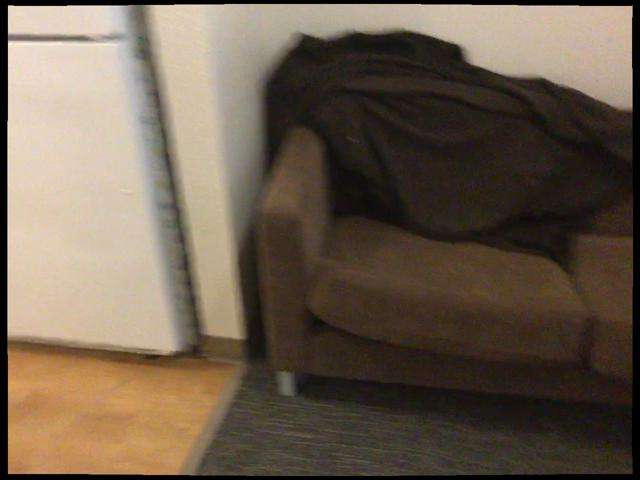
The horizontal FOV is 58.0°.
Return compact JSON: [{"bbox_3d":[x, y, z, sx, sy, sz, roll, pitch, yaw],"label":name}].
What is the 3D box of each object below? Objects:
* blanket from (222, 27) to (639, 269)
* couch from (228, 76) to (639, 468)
[{"bbox_3d":[0.449,-0.331,1.860,1.357,0.521,0.560,5,33,8],"label":"blanket"},{"bbox_3d":[0.709,0.040,1.800,1.707,0.751,0.930,5,33,8],"label":"couch"}]
